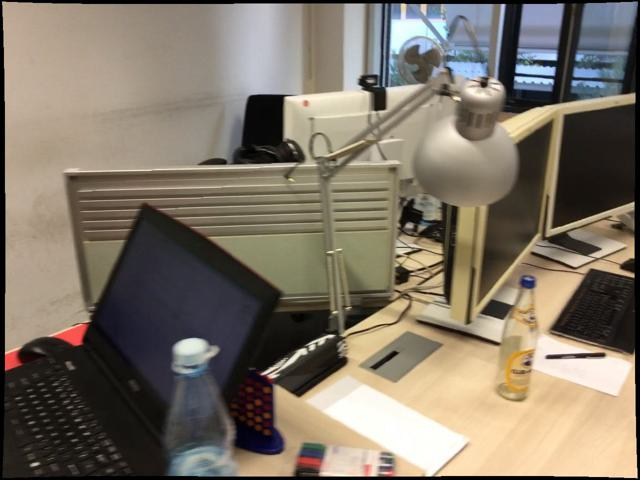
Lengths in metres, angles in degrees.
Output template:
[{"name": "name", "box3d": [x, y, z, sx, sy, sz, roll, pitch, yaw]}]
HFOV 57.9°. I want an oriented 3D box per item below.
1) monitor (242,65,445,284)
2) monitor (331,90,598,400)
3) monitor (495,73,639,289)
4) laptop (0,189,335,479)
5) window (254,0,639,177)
[{"name": "monitor", "box3d": [0.100, -0.240, 1.770, 0.280, 0.500, 0.620, 15, 28, 35]}, {"name": "monitor", "box3d": [0.380, -0.060, 1.420, 0.310, 0.490, 0.750, 15, 28, 35]}, {"name": "monitor", "box3d": [0.799, -0.220, 1.720, 0.250, 0.450, 0.700, 15, 28, 35]}, {"name": "laptop", "box3d": [-0.360, 0.180, 0.890, 0.530, 0.300, 0.550, -19, 28, -36]}, {"name": "window", "box3d": [1.219, -0.991, 2.550, 3.338, 1.161, 0.840, 15, 28, 35]}]
